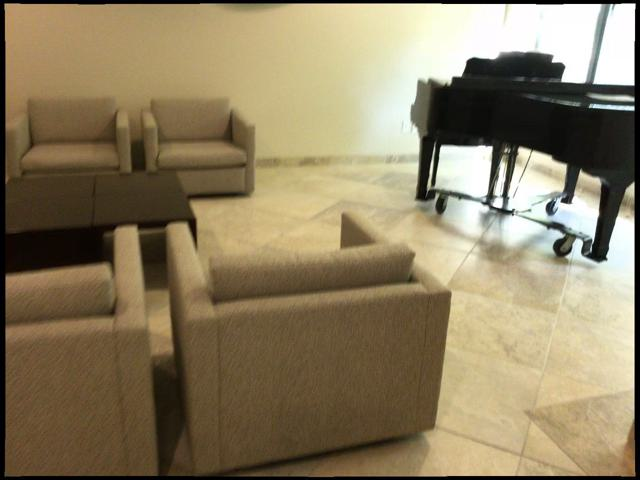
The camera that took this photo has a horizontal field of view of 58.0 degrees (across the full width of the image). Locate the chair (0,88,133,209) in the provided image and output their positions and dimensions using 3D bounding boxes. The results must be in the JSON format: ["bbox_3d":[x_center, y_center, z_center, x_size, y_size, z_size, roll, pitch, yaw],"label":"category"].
[{"bbox_3d":[-2.006,-0.752,4.510,0.948,0.711,0.900,-5,24,-19],"label":"chair"}]

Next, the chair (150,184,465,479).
[{"bbox_3d":[-0.130,0.281,2.200,0.898,0.721,0.880,-5,24,-19],"label":"chair"}]

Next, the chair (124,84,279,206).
[{"bbox_3d":[-1.048,-0.862,4.950,1.108,0.761,1.090,-5,24,-19],"label":"chair"}]

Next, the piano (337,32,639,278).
[{"bbox_3d":[1.357,-0.882,4.700,1.617,1.322,2.420,-4,23,-19],"label":"piano"}]
